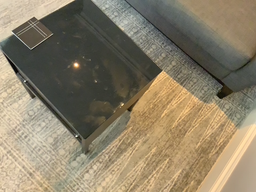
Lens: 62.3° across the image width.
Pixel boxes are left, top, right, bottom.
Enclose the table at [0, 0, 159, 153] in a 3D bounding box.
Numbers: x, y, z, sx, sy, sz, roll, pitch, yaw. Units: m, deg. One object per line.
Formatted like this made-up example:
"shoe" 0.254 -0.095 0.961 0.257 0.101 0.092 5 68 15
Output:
"table" -0.220 -0.070 0.980 0.460 0.480 0.380 44 67 7
